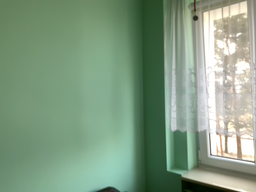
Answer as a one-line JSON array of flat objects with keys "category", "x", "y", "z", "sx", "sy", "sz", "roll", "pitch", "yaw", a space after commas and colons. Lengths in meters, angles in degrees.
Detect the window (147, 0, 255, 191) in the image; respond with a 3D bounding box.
[{"category": "window", "x": 0.910, "y": -0.200, "z": 1.310, "sx": 1.730, "sy": 1.610, "sz": 0.340, "roll": 0, "pitch": 1, "yaw": 44}]
